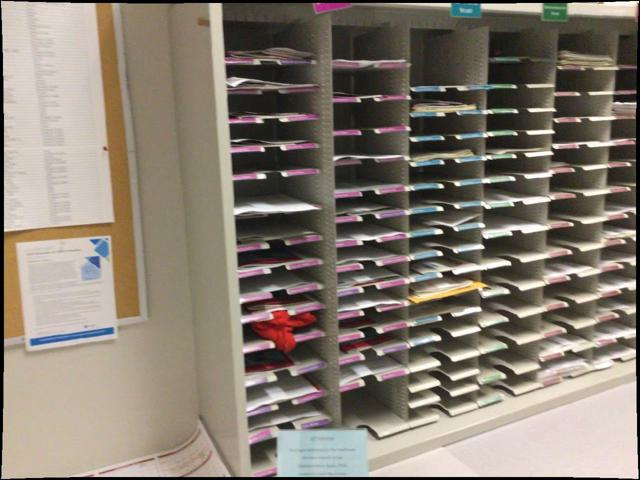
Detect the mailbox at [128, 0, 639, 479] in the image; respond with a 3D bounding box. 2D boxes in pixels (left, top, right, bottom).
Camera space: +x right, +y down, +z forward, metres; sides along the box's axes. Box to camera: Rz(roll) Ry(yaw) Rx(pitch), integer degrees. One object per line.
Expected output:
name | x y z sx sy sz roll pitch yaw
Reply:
mailbox | 0.549 -0.100 1.700 1.847 1.343 0.790 -13 23 -27
